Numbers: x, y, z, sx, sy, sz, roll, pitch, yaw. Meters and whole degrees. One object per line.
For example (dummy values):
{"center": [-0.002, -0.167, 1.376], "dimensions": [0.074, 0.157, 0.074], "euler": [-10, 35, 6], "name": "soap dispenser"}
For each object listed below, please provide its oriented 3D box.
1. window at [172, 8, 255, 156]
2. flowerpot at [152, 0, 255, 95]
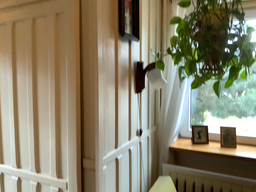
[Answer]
{"center": [0.880, -0.110, 1.810], "dimensions": [0.950, 1.140, 0.220], "euler": [3, 5, 28], "name": "window"}
{"center": [0.580, -0.520, 1.290], "dimensions": [0.670, 0.980, 0.550], "euler": [3, 6, 33], "name": "flowerpot"}
